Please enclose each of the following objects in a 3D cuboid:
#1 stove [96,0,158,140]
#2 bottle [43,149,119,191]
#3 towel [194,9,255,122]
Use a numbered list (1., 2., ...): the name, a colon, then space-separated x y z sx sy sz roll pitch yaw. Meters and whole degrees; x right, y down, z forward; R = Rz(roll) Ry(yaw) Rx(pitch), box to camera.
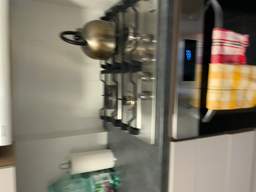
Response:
1. stove: -0.040 -0.150 1.010 0.540 0.030 0.580 12 102 61
2. bottle: -0.240 0.540 1.100 0.170 0.350 0.440 7 98 61
3. towel: 0.450 -0.110 0.860 0.120 0.350 0.380 12 102 61
